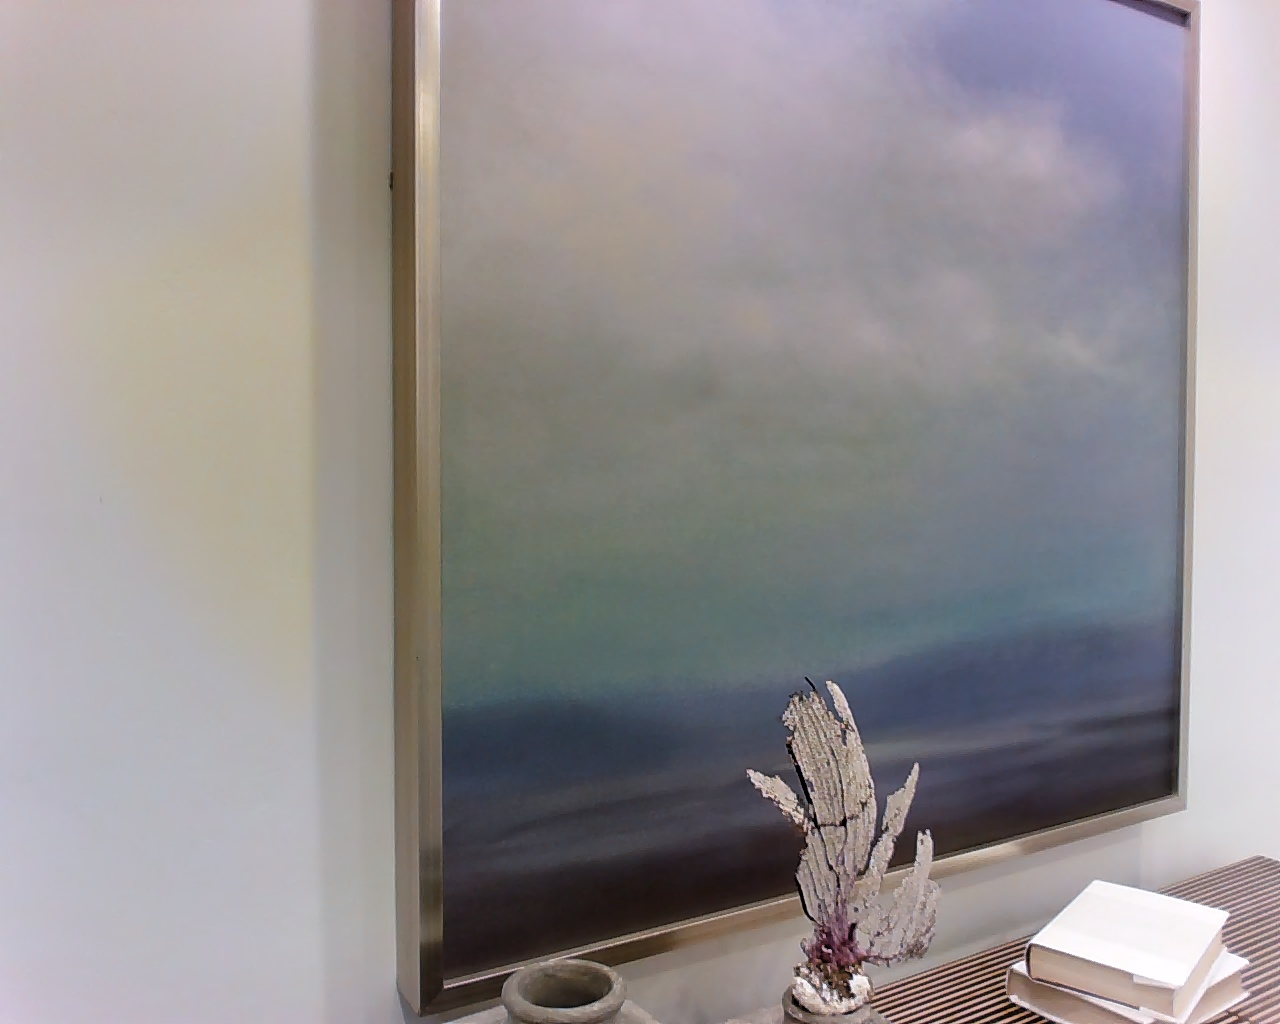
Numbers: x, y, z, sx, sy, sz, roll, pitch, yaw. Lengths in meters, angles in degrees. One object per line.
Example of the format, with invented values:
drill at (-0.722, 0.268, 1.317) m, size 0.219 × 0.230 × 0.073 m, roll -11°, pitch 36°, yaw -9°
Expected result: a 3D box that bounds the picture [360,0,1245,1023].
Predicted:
picture at (0.330, -0.140, 1.410) m, size 1.350 × 1.250 × 0.130 m, roll -3°, pitch 4°, yaw -31°
